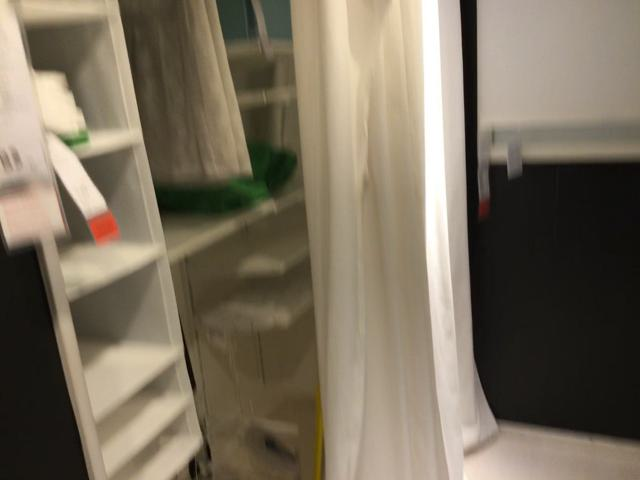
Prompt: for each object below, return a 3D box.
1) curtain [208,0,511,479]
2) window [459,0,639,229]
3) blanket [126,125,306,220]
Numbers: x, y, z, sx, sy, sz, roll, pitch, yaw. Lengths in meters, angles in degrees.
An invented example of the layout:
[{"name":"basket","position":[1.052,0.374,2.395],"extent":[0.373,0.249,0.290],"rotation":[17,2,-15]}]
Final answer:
[{"name":"curtain","position":[0.270,-0.130,1.550],"extent":[0.340,2.390,1.310],"rotation":[1,17,23]},{"name":"window","position":[0.910,-0.660,1.750],"extent":[0.930,1.250,0.170],"rotation":[1,17,23]},{"name":"blanket","position":[-0.310,-0.230,1.870],"extent":[0.340,0.210,0.490],"rotation":[1,17,23]}]
